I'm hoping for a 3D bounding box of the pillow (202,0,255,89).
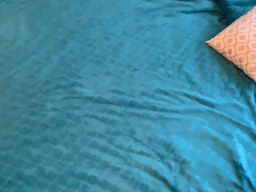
[{"bbox_3d":[0.690,-0.290,1.070,0.430,0.160,0.390,-32,70,-23],"label":"pillow"}]
